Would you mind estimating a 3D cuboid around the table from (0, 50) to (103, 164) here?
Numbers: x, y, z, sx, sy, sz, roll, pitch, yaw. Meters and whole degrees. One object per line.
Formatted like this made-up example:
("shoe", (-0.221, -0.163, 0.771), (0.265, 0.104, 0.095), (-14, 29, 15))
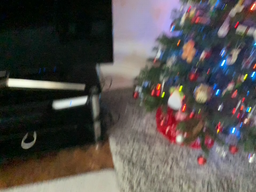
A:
("table", (-0.740, 0.080, 1.480), (1.030, 0.500, 0.500), (-10, 43, -15))
